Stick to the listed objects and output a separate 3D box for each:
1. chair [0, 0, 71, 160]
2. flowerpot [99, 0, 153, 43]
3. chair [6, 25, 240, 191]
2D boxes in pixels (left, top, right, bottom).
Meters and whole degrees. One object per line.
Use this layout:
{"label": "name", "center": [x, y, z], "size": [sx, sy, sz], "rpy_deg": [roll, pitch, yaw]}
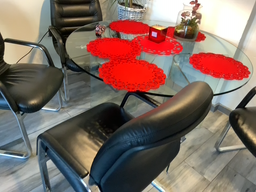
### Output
{"label": "chair", "center": [-0.850, -0.150, 1.460], "size": [0.690, 0.930, 0.580], "rpy_deg": [9, 35, 2]}
{"label": "flowerpot", "center": [0.010, -1.130, 2.210], "size": [0.430, 0.950, 0.490], "rpy_deg": [17, 36, 14]}
{"label": "chair", "center": [-0.060, 0.240, 1.060], "size": [0.660, 0.910, 0.590], "rpy_deg": [33, 43, 32]}
